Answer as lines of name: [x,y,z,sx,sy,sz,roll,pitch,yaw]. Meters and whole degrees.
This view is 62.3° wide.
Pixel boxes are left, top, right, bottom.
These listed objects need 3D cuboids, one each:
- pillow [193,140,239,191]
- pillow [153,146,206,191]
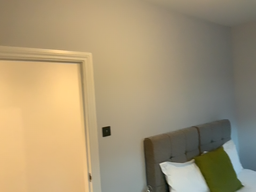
pillow: [1.030,0.860,2.450,0.550,0.450,0.120,-35,10,-36]
pillow: [0.560,0.870,2.230,0.510,0.450,0.140,-33,9,-37]
